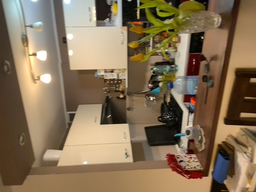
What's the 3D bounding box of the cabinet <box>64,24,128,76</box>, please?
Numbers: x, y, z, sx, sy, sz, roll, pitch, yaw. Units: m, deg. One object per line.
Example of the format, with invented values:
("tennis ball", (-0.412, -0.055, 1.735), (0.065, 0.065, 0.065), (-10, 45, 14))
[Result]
("cabinet", (-0.370, -0.580, 2.650), (0.310, 0.710, 0.570), (-100, 10, -65))
